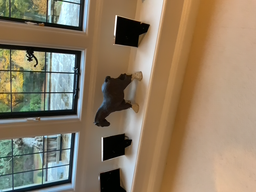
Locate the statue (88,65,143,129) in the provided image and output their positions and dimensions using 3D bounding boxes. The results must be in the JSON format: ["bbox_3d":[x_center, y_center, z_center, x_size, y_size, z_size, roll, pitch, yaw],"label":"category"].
[{"bbox_3d":[-0.120,0.000,1.850,0.250,0.340,0.480,36,122,54],"label":"statue"}]
